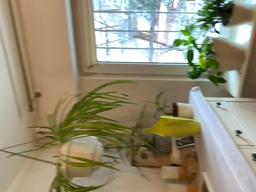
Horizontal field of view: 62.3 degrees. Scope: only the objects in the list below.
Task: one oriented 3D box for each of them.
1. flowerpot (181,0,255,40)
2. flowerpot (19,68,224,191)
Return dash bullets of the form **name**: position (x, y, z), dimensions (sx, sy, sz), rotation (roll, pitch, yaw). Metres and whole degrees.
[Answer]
- **flowerpot**: position (0.560, -0.510, 1.330), dimensions (0.250, 0.370, 0.260), rotation (-85, -4, -65)
- **flowerpot**: position (-0.030, 0.230, 1.430), dimensions (0.670, 0.960, 0.650), rotation (-84, -4, -66)
